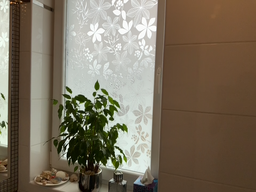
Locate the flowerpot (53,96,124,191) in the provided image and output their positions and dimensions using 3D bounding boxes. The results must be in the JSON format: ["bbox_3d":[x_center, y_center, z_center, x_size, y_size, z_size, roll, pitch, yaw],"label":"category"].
[{"bbox_3d":[-0.230,0.310,1.260,0.310,0.600,0.250,3,3,23],"label":"flowerpot"}]
